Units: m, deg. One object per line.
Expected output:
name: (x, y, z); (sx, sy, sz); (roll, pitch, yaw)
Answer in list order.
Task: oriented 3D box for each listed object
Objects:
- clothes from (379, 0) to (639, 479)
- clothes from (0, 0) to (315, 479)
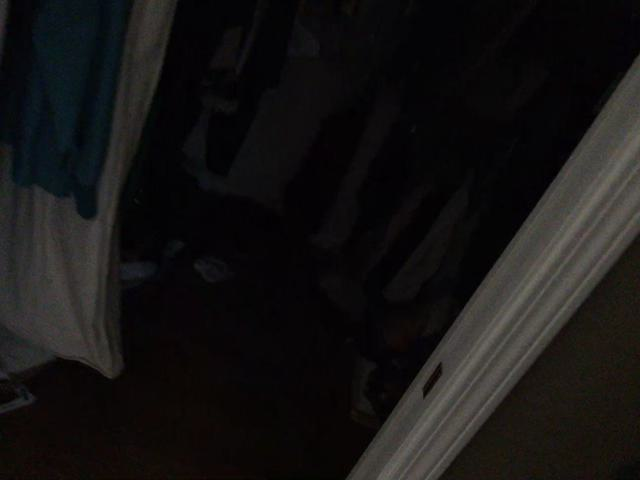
clothes: (0.740, -0.160, 1.770); (0.560, 1.280, 1.280); (25, 25, -7)
clothes: (-0.430, -0.350, 1.480); (0.470, 1.640, 1.200); (25, 25, -7)
